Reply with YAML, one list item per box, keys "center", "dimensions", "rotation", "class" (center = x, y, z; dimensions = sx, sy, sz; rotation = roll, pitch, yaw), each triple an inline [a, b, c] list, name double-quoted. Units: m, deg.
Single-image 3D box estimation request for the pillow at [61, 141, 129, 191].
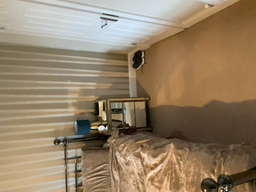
- center: [-0.400, 0.960, 2.620]
  dimensions: [0.630, 0.470, 0.280]
  rotation: [50, 156, -15]
  class: "pillow"
